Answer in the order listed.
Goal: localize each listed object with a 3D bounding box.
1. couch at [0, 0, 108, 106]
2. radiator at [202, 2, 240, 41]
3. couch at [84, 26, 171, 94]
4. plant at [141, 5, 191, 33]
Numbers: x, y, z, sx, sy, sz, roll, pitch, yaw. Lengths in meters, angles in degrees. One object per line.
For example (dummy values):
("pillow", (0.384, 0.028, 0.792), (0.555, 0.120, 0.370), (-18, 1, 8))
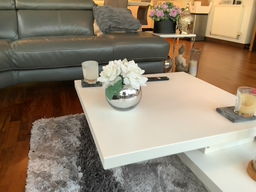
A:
("couch", (-0.690, -0.490, 1.900), (0.770, 0.710, 1.030), (-6, 24, -18))
("radiator", (1.860, -1.530, 4.320), (0.120, 0.680, 0.730), (-8, 24, -21))
("couch", (-0.080, -0.440, 2.160), (0.540, 0.450, 1.030), (-6, 24, -18))
("plant", (0.370, -0.800, 2.190), (0.340, 0.250, 0.380), (-8, 24, -21))
